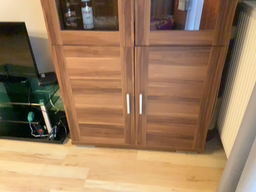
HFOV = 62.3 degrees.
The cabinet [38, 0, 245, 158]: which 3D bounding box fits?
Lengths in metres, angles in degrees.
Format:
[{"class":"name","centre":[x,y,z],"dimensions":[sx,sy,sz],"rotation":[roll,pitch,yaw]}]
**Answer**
[{"class":"cabinet","centre":[0.070,-0.560,1.280],"dimensions":[1.020,2.020,0.500],"rotation":[3,32,6]}]
